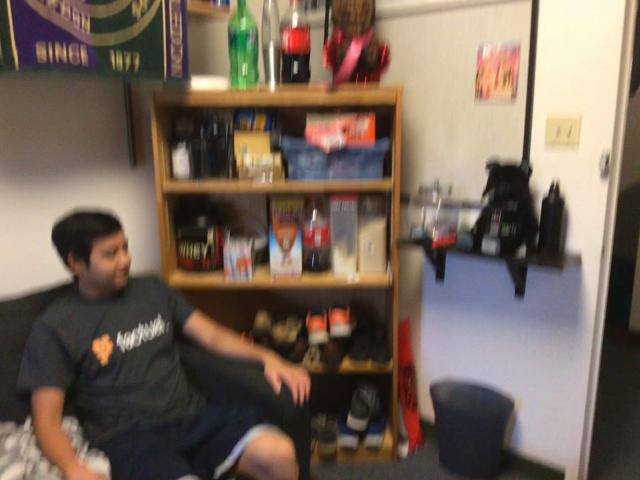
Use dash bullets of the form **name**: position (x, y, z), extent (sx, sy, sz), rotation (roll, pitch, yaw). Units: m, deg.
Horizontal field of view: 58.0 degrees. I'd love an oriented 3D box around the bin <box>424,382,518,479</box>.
- **bin**: position (0.580, 0.750, 2.230), extent (0.270, 0.270, 0.230), rotation (9, 16, 39)
